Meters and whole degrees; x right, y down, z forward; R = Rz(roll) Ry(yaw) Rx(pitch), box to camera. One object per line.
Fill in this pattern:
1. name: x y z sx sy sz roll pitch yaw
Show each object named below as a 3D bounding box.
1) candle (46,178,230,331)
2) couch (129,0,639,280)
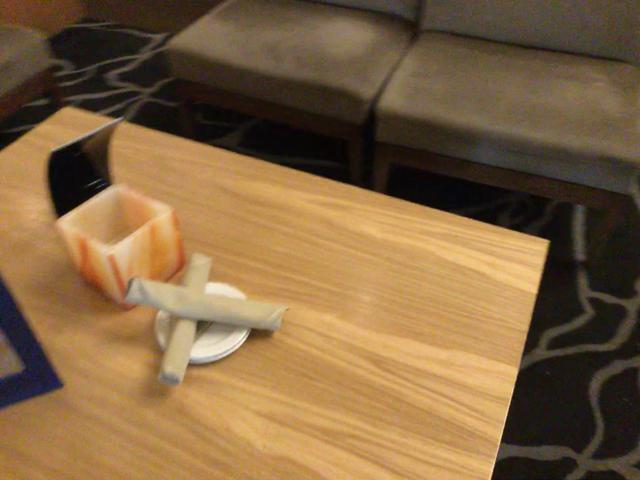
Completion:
1. candle: -0.310 0.020 1.020 0.230 0.140 0.170 16 45 17
2. couch: 0.300 -0.650 1.900 1.510 0.820 0.860 16 45 17
